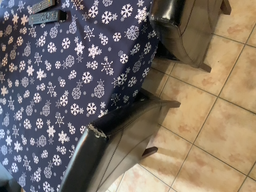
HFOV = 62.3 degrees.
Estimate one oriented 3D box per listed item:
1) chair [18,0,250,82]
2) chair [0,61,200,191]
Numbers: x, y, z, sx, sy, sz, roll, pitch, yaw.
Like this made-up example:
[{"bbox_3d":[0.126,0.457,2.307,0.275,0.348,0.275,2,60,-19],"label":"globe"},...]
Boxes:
[{"bbox_3d":[0.200,-0.380,0.940,0.490,1.060,0.430,22,100,27],"label":"chair"},{"bbox_3d":[-0.070,0.180,1.060,0.510,1.090,0.430,25,101,27],"label":"chair"}]
